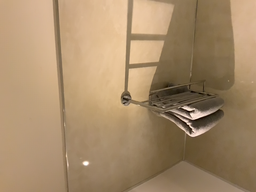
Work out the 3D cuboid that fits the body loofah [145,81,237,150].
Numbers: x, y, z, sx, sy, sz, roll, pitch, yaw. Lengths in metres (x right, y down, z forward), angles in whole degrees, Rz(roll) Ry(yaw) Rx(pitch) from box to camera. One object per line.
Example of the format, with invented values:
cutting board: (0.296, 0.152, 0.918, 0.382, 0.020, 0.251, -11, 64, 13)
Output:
body loofah: (0.360, 0.080, 1.240, 0.390, 0.240, 0.340, -11, -161, -38)
